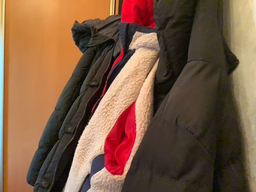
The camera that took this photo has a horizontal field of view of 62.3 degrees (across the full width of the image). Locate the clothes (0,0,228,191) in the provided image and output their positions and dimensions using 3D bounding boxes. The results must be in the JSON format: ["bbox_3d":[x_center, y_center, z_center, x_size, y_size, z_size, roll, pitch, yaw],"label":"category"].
[{"bbox_3d":[-0.250,0.300,1.110,0.630,1.680,1.330,3,5,-12],"label":"clothes"}]
